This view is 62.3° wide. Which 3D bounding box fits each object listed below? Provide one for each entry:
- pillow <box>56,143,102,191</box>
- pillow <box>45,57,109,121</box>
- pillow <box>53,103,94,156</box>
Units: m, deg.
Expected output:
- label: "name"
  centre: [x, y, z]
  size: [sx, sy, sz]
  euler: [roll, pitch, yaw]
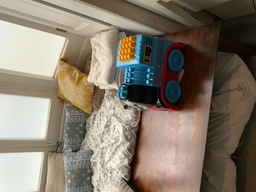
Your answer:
- label: "pillow"
  centre: [-0.430, 0.680, 1.820]
  size: [0.110, 0.240, 0.490]
  euler: [135, 156, -68]
- label: "pillow"
  centre: [-0.460, -0.070, 1.890]
  size: [0.170, 0.470, 0.380]
  euler: [-47, -20, -61]
- label: "pillow"
  centre: [-0.500, 0.310, 1.980]
  size: [0.100, 0.210, 0.430]
  euler: [145, 149, -79]
